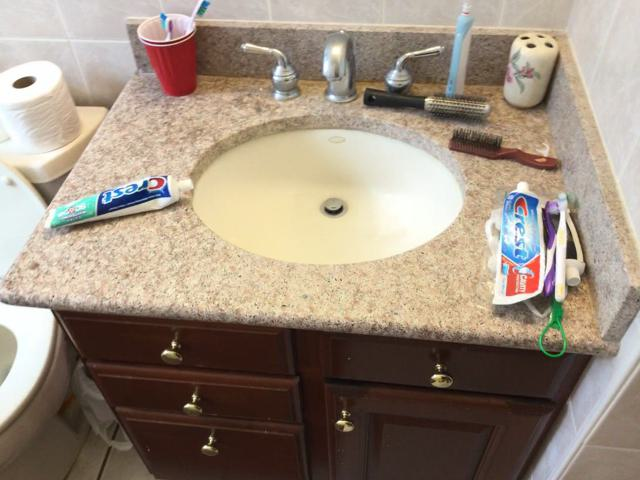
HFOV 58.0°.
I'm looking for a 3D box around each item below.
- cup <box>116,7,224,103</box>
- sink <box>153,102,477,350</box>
[{"bbox_3d":[-0.260,-0.330,1.030,0.140,0.120,0.110,4,47,5],"label":"cup"},{"bbox_3d":[0.010,-0.040,0.950,0.430,0.180,0.360,4,47,5],"label":"sink"}]
